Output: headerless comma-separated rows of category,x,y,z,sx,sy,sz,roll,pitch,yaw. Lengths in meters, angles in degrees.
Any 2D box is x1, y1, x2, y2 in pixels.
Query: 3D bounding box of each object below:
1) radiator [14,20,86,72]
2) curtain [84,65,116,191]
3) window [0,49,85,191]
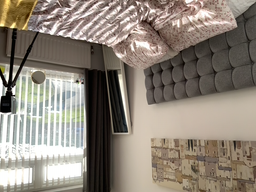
radiator,-1.090,-0.690,3.050,0.950,0.570,0.150,3,170,-30
curtain,-0.440,0.550,3.240,0.390,1.990,0.260,4,170,-33
window,-1.300,0.390,3.030,1.370,1.960,0.210,4,170,-34
